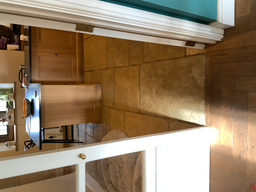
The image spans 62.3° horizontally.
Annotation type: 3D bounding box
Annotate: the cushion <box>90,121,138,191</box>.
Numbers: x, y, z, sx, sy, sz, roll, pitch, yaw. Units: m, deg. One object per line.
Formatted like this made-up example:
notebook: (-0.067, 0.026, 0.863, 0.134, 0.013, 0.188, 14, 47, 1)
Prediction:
cushion: (-0.240, 0.910, 2.950, 0.990, 0.190, 0.950, 7, 98, 56)
